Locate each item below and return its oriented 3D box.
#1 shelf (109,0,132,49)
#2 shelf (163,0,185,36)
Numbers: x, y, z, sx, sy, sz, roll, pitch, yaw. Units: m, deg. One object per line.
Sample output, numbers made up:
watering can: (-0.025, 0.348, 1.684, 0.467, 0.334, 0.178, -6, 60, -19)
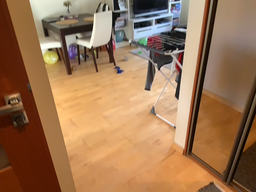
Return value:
shelf: (-0.150, -1.590, 4.590, 0.380, 1.030, 0.290, -21, 36, -30)
shelf: (1.180, -2.110, 5.410, 0.410, 1.030, 0.290, -21, 36, -30)
